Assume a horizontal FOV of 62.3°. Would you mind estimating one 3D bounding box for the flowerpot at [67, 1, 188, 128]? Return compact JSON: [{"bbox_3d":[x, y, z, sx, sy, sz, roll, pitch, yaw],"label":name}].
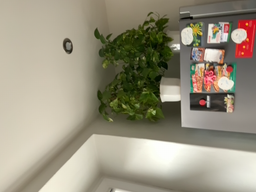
[{"bbox_3d":[0.070,-0.250,1.530,0.550,0.640,0.710,-48,-44,-57],"label":"flowerpot"}]
